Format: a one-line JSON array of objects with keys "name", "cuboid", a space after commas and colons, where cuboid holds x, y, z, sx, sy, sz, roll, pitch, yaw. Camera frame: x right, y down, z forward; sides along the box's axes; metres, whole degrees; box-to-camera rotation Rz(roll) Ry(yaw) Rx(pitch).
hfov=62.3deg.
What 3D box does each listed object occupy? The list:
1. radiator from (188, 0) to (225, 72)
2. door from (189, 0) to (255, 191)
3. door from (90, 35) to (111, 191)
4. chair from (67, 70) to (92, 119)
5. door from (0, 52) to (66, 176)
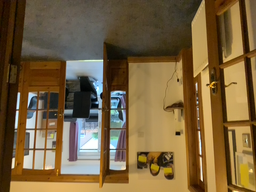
[{"name": "radiator", "cuboid": [0.670, -0.590, 1.880, 0.130, 0.620, 0.560, -1, 171, 5]}, {"name": "door", "cuboid": [0.650, -0.070, 1.020, 0.210, 1.880, 0.790, 3, 171, -18]}, {"name": "door", "cuboid": [-0.400, 0.240, 3.280, 0.160, 2.070, 0.950, 0, 171, 0]}, {"name": "chair", "cuboid": [-1.120, -0.010, 4.920, 0.420, 1.040, 0.530, 4, 170, -27]}, {"name": "door", "cuboid": [-1.740, 0.290, 3.710, 1.140, 2.060, 0.290, -1, 171, 4]}]
